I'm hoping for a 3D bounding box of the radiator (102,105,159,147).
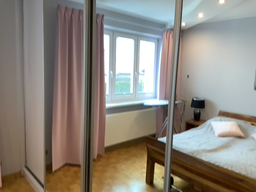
[{"bbox_3d":[0.110,0.590,4.520,1.500,0.640,0.180,-4,10,-43],"label":"radiator"}]
